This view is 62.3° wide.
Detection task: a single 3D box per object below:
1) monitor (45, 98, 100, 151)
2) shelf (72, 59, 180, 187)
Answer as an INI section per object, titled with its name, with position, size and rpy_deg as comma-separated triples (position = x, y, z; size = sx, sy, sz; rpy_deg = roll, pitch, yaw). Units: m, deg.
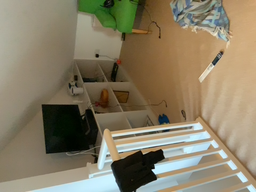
[monitor]
position = -0.670, 0.290, 2.470
size = 0.760, 0.550, 0.040
rpy_deg = -115, 32, -47
[shelf]
position = -0.210, 0.150, 3.050
size = 2.130, 0.790, 0.390
rpy_deg = -122, 36, -46
